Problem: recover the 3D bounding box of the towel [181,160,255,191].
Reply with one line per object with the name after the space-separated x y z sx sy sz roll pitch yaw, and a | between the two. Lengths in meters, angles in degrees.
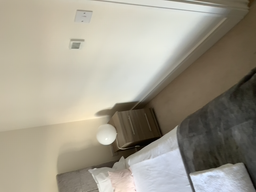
0.490 0.560 1.140 0.440 0.060 0.320 -52 50 54 | towel
